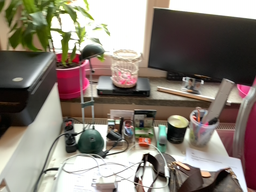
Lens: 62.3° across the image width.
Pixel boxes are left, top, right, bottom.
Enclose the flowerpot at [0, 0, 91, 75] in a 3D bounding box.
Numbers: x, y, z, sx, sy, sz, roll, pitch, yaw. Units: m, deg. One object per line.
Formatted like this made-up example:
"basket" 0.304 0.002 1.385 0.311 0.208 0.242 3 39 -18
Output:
"flowerpot" -0.350 -0.340 0.980 0.290 0.360 0.330 3 33 0
